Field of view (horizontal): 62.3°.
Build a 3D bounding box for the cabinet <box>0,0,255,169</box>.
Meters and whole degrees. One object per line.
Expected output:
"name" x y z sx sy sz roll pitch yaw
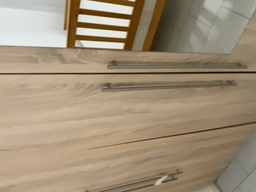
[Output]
"cabinet" 0.150 -0.250 1.030 0.570 1.850 0.790 -120 37 -44
